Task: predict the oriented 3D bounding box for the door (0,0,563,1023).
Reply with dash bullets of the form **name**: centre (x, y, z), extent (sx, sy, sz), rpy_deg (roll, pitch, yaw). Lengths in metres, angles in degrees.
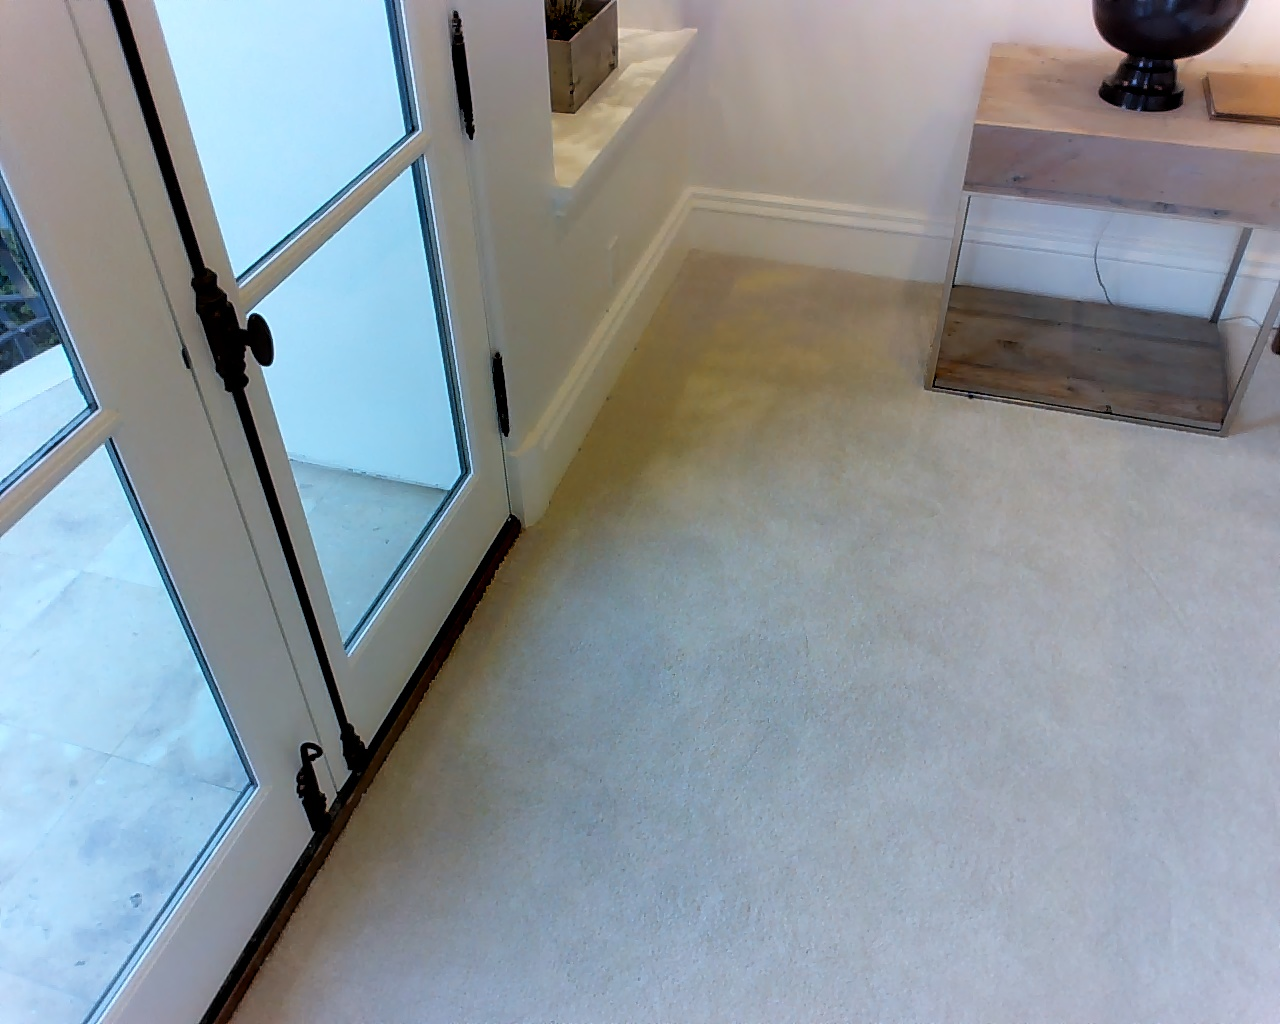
- **door**: centre (-0.520, -0.390, 1.090), extent (0.110, 2.460, 1.530), rpy_deg (10, 43, 15)
